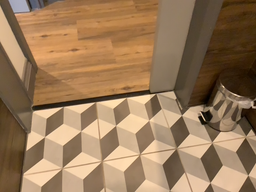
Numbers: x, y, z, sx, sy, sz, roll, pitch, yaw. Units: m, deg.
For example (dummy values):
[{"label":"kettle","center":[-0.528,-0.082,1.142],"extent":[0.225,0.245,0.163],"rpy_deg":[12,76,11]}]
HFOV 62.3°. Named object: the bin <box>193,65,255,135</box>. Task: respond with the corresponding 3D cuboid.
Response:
[{"label":"bin","center":[0.470,0.020,0.990],"extent":[0.210,0.210,0.210],"rpy_deg":[-9,51,-8]}]
